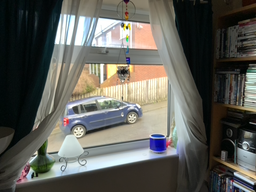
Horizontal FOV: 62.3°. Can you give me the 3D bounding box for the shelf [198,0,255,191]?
[{"bbox_3d":[0.750,0.480,1.390,0.330,2.030,0.430,-2,7,-20],"label":"shelf"}]
